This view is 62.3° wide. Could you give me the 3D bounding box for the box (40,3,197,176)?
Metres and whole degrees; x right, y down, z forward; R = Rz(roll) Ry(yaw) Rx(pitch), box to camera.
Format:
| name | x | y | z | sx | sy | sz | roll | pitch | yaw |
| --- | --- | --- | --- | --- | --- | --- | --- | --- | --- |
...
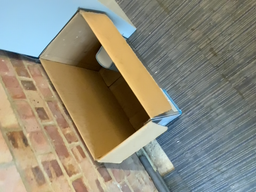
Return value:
| name | x | y | z | sx | sy | sz | roll | pitch | yaw |
| --- | --- | --- | --- | --- | --- | --- | --- | --- | --- |
| box | -0.030 | -0.030 | 1.070 | 0.370 | 0.450 | 0.610 | -40 | 73 | 20 |
